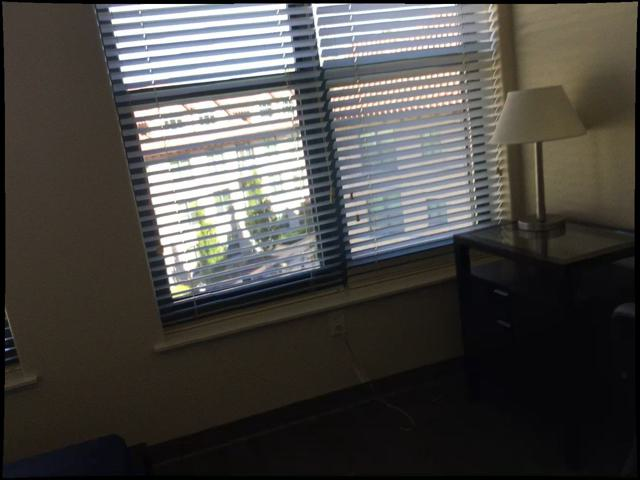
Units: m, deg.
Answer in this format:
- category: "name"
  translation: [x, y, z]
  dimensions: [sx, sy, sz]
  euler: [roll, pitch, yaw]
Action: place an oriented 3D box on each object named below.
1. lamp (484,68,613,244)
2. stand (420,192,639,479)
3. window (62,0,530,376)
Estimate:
- category: "lamp"
  translation: [0.909, -0.340, 2.300]
  dimensions: [0.350, 0.601, 0.280]
  euler: [-14, 16, -17]
- category: "stand"
  translation: [0.929, 0.300, 2.370]
  dimensions: [0.580, 0.781, 0.890]
  euler: [-14, 16, -17]
- category: "window"
  translation: [0.000, -0.400, 2.560]
  dimensions: [1.779, 1.431, 0.470]
  euler: [-14, 16, -17]
